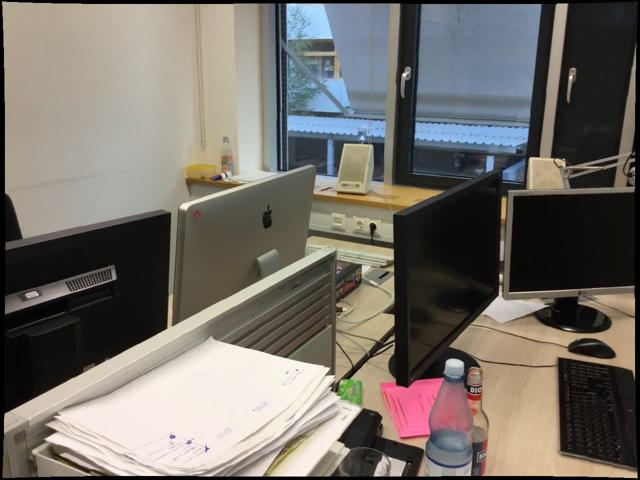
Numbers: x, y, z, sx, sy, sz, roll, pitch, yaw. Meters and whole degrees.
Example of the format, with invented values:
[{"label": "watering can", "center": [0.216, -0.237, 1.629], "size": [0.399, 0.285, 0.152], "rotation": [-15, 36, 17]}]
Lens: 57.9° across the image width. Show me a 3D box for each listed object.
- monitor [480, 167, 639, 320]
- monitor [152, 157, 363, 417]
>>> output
[{"label": "monitor", "center": [0.769, 0.000, 1.750], "size": [0.470, 0.400, 0.220], "rotation": [-2, 17, -8]}, {"label": "monitor", "center": [-0.120, 0.070, 1.560], "size": [0.190, 0.480, 0.670], "rotation": [10, 20, 28]}]
